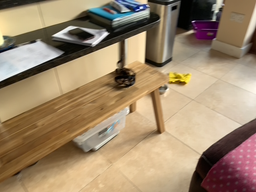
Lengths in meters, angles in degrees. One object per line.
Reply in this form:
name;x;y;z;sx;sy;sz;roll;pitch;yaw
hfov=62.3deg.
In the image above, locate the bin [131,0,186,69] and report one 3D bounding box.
bin;0.290;-0.710;2.230;0.280;0.670;0.460;-32;47;-34
